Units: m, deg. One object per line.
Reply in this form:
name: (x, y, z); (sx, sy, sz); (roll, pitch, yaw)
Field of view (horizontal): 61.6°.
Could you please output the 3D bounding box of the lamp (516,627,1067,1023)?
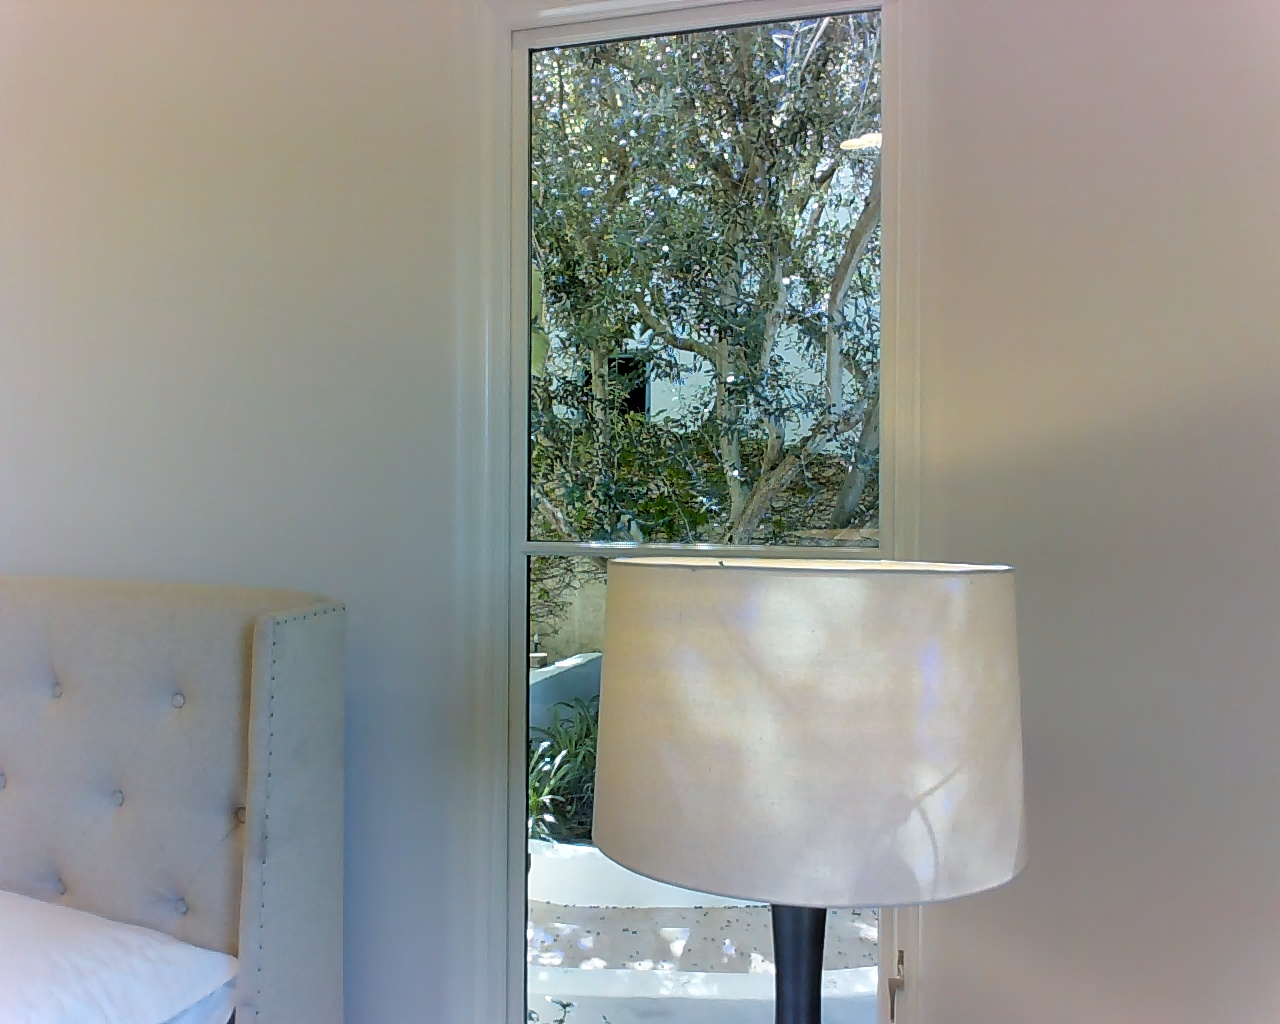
lamp: (0.160, 0.500, 1.070); (0.460, 0.710, 0.350); (1, 1, 18)
